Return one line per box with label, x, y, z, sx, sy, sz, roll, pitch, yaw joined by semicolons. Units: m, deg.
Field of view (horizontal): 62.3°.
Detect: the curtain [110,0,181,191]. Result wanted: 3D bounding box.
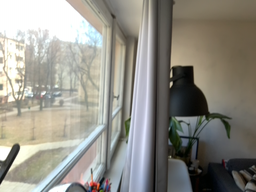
curtain;0.080;0.480;1.440;0.230;2.150;1.080;4;5;5
